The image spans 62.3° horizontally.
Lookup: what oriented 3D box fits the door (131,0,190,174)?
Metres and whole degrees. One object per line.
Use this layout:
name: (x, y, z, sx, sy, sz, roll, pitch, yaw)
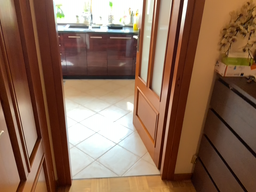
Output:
door: (0.230, -0.390, 1.880, 0.110, 2.080, 0.820, -3, 27, -13)
